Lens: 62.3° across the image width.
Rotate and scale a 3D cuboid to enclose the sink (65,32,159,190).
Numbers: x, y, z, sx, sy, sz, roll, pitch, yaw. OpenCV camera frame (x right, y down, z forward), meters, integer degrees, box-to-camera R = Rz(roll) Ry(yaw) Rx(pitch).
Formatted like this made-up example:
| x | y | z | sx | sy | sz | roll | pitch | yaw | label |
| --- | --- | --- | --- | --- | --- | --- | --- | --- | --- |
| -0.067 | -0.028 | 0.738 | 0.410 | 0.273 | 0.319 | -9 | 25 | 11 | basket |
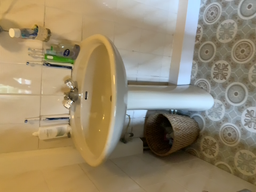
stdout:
| x | y | z | sx | sy | sz | roll | pitch | yaw | label |
| --- | --- | --- | --- | --- | --- | --- | --- | --- | --- |
| -0.120 | 0.030 | 1.040 | 0.500 | 0.180 | 0.600 | 18 | 103 | 56 | sink |
